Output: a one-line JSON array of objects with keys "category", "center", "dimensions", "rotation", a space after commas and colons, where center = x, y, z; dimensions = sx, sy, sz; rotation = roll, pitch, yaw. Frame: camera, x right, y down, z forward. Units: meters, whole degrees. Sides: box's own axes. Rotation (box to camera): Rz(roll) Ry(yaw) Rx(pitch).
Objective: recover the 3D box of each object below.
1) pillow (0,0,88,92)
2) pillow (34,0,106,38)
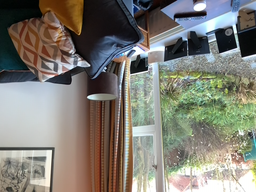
[{"category": "pillow", "center": [-0.590, -0.320, 1.430], "dimensions": [0.480, 0.450, 0.150], "rotation": [-17, -164, 27]}, {"category": "pillow", "center": [-0.340, -0.540, 1.180], "dimensions": [0.280, 0.320, 0.160], "rotation": [-24, -173, 22]}]
